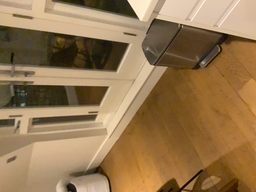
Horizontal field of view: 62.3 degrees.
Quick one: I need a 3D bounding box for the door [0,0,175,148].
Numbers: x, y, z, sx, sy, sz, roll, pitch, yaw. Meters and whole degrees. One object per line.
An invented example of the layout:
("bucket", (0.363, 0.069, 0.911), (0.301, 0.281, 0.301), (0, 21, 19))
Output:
("door", (-0.880, -0.050, 1.740), (1.630, 2.200, 0.100), (-60, 42, 40))
